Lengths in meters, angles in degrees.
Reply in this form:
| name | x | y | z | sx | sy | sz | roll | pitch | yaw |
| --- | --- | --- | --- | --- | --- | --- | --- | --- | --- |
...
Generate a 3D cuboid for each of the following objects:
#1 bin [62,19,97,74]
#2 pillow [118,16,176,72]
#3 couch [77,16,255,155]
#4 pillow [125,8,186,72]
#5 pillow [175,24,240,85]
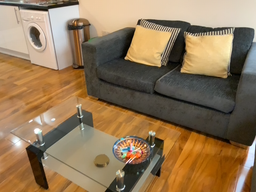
| name | x | y | z | sx | sy | sz | roll | pitch | yaw |
| --- | --- | --- | --- | --- | --- | --- | --- | --- | --- |
| bin | -0.720 | -0.750 | 3.210 | 0.280 | 0.720 | 0.340 | 17 | 33 | 27 |
| pillow | 0.200 | -0.550 | 2.300 | 0.460 | 0.410 | 0.200 | -20 | 11 | 37 |
| couch | 0.500 | -0.300 | 2.260 | 1.720 | 0.780 | 1.020 | 16 | 33 | 26 |
| pillow | 0.300 | -0.610 | 2.420 | 0.520 | 0.530 | 0.140 | -18 | 13 | 45 |
| pillow | 0.750 | -0.380 | 2.000 | 0.480 | 0.440 | 0.200 | -10 | 19 | 26 |
